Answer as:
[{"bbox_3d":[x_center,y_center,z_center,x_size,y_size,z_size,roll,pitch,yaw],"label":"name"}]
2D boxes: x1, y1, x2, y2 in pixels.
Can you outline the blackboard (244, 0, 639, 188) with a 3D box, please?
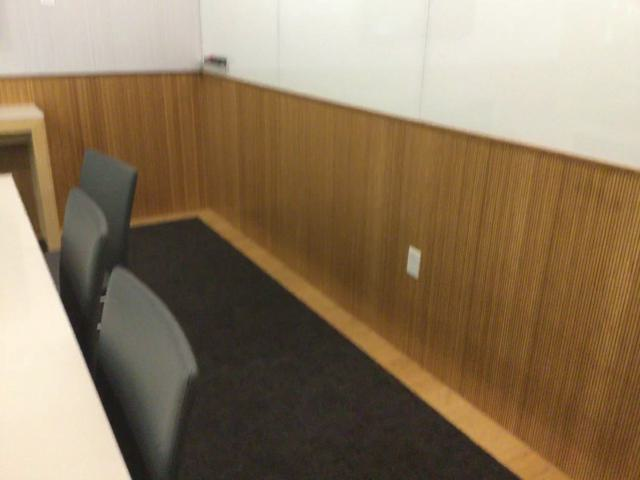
[{"bbox_3d":[0.240,-1.170,2.190,0.070,1.380,2.400,-9,24,-30],"label":"blackboard"}]
